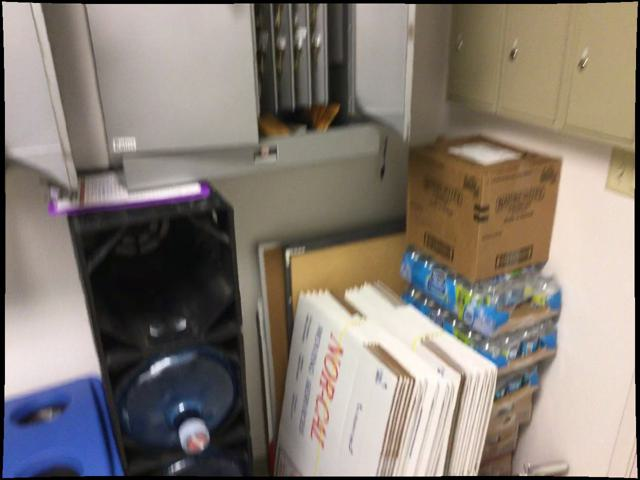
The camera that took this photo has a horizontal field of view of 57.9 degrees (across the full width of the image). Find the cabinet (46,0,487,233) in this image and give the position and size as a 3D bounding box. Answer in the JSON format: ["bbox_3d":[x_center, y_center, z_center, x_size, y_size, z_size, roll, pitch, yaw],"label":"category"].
[{"bbox_3d":[-0.120,-0.531,1.200,0.809,0.781,0.460,-12,27,-24],"label":"cabinet"}]
